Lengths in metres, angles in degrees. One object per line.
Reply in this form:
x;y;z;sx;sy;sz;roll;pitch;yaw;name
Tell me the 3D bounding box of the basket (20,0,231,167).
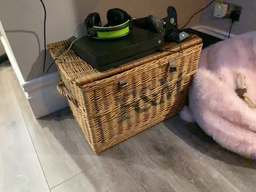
0.000;-0.150;1.020;0.740;0.460;0.470;-24;43;-25;basket
